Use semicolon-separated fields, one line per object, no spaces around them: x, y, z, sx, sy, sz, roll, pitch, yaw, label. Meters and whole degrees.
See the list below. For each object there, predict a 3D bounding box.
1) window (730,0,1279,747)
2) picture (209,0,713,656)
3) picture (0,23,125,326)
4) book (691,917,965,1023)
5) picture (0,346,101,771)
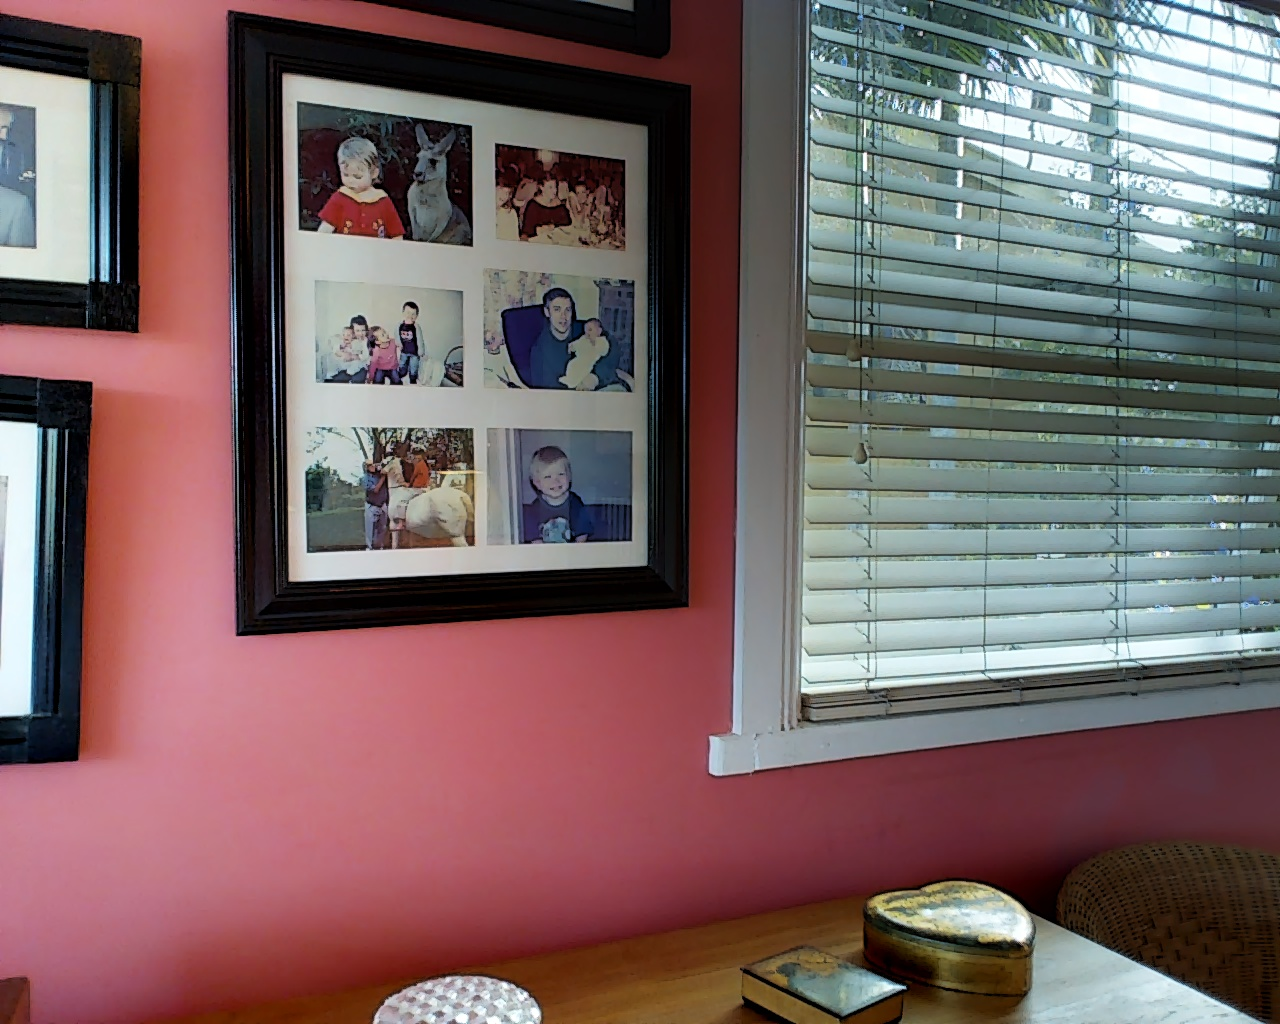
0.670;-0.330;1.660;1.120;1.270;0.130;1;1;-25;window
-0.170;-0.180;1.150;0.530;0.640;0.040;1;1;-25;picture
-0.620;-0.300;0.920;0.320;0.250;0.030;1;1;-25;picture
0.170;0.440;0.990;0.170;0.040;0.180;1;1;-34;book
-0.620;0.040;0.930;0.270;0.370;0.040;1;1;-25;picture
